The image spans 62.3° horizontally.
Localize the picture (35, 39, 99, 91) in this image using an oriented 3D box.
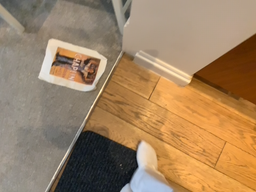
[{"bbox_3d":[-0.290,-0.150,1.010,0.280,0.020,0.230,-5,83,-4],"label":"picture"}]
